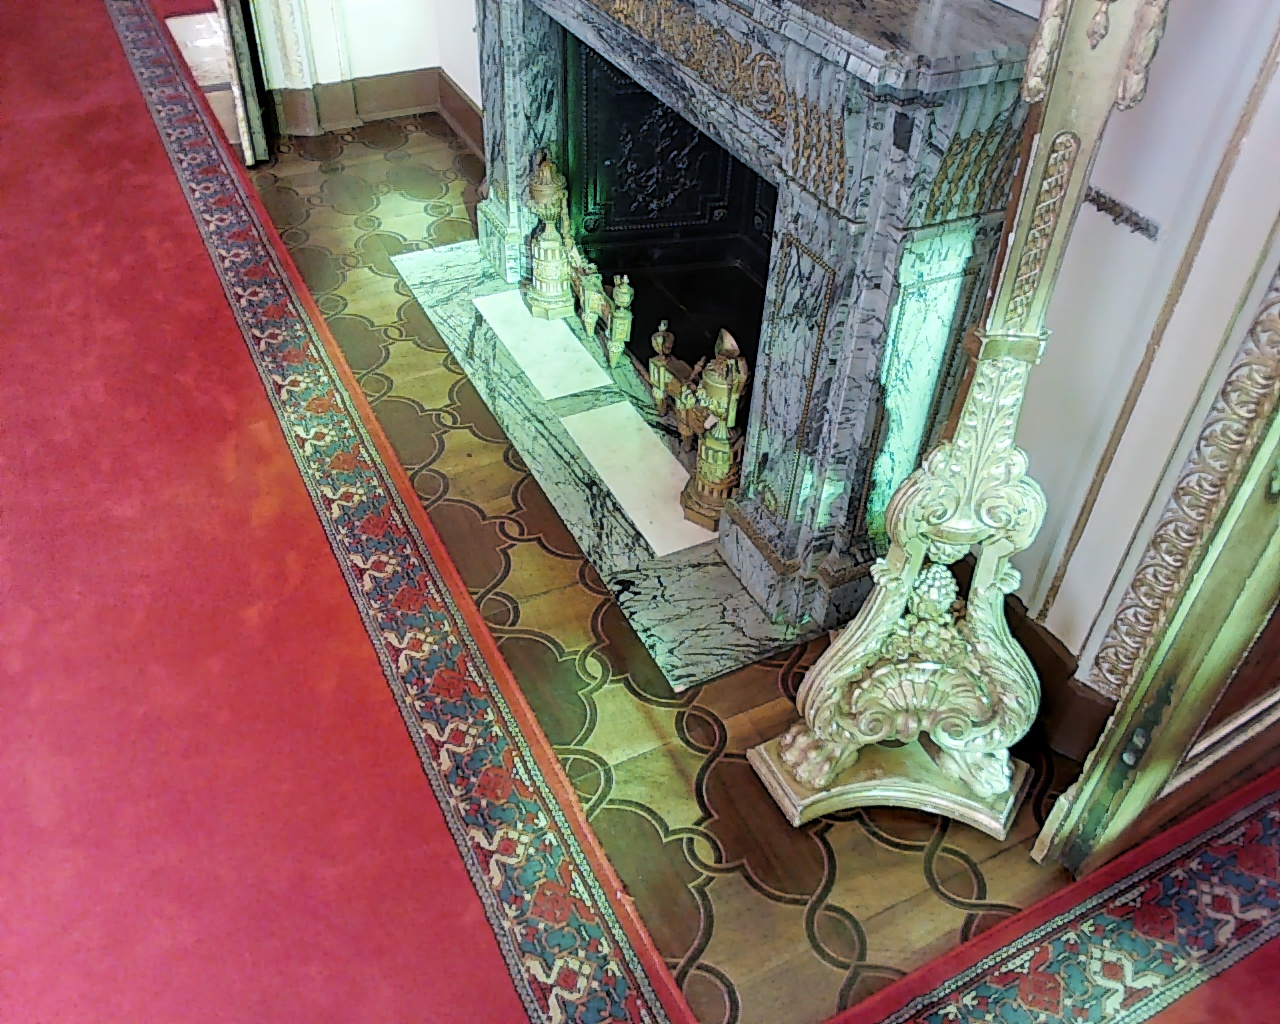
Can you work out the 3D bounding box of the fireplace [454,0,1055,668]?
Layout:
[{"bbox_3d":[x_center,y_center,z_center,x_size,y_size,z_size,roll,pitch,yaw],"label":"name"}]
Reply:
[{"bbox_3d":[0.010,-0.800,2.580,0.220,1.280,2.060,-17,45,-20],"label":"fireplace"}]
